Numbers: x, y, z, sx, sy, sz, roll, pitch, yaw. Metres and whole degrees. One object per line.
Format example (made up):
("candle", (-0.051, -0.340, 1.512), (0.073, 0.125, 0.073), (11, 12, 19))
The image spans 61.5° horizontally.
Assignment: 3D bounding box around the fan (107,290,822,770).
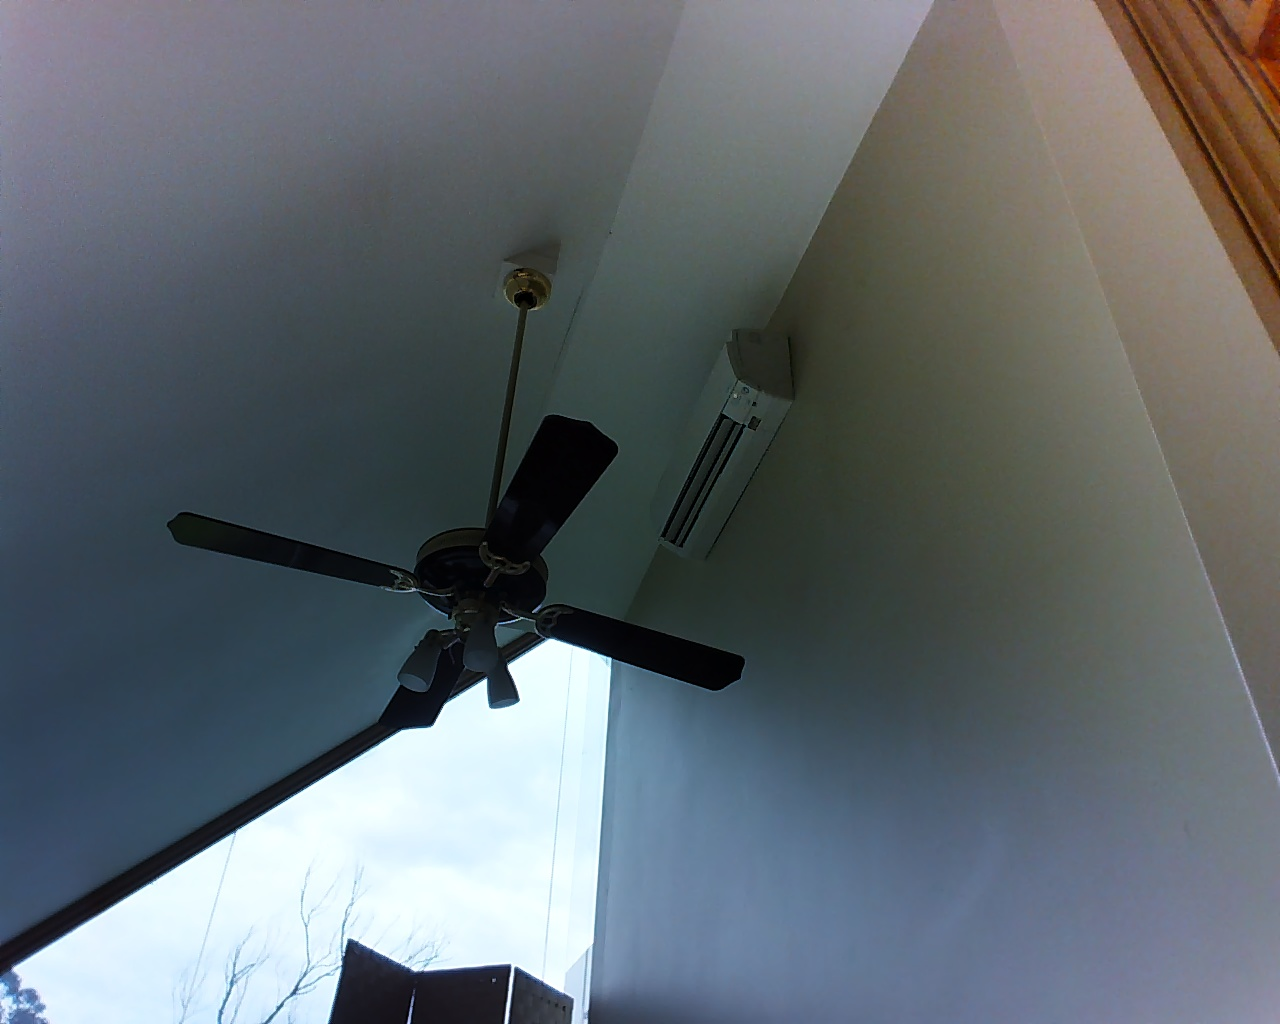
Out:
("fan", (-0.320, 0.160, 2.350), (1.060, 0.140, 1.140), (-18, -45, 24))
